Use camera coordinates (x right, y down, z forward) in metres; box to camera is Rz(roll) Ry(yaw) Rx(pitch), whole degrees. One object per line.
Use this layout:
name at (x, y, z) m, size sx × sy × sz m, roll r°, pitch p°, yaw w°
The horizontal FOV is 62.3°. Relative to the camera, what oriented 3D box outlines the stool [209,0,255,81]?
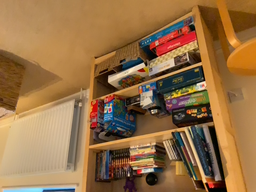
stool at (0.700, -0.400, 1.170) m, size 0.340 × 0.450 × 0.370 m, roll -18°, pitch 150°, yaw 32°
